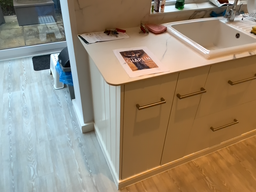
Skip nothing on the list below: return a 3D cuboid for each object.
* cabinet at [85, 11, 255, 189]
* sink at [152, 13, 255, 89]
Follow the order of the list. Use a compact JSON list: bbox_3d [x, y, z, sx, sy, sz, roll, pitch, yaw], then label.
[{"bbox_3d":[0.560,-0.060,1.680,1.590,0.890,0.630,-13,41,-19],"label":"cabinet"},{"bbox_3d":[0.550,-0.350,1.470,0.550,0.220,0.560,-13,41,-19],"label":"sink"}]
